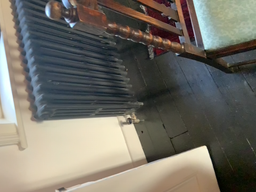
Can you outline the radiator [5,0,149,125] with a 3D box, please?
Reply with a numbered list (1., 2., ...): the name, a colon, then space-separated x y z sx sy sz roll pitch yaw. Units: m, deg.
1. radiator: -0.370 -0.440 1.510 0.140 0.830 1.270 -34 67 35
